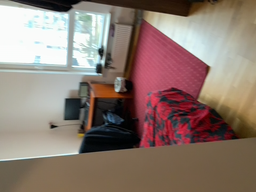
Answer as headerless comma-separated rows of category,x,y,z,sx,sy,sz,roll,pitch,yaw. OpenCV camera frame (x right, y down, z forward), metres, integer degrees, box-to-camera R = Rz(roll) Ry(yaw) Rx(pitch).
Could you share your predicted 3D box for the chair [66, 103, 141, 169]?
chair,-0.490,0.650,3.770,0.860,1.080,0.710,-127,42,-57
